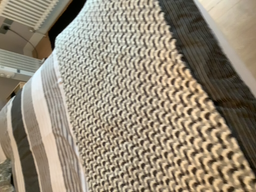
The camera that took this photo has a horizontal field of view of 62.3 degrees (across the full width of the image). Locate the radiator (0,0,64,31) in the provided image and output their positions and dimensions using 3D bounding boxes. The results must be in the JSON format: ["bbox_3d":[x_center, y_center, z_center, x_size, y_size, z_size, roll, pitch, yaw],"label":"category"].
[{"bbox_3d":[-0.950,-1.110,2.250,0.890,0.510,0.070,-37,62,29],"label":"radiator"}]
